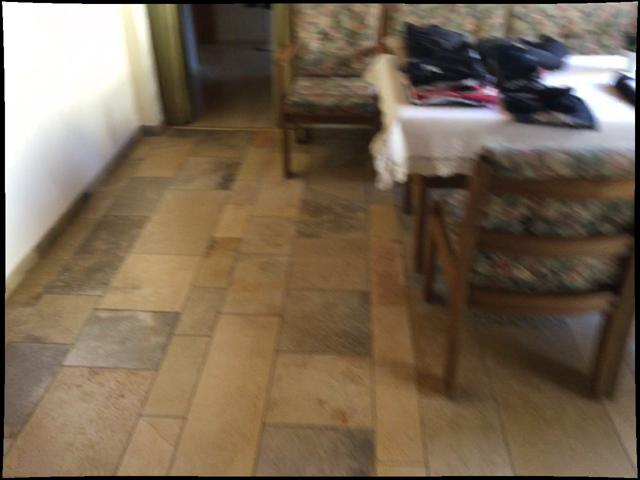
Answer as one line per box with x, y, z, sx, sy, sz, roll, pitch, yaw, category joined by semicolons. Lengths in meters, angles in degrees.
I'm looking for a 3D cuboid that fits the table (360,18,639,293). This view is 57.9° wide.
0.959;-0.410;2.520;1.528;0.821;0.970;2;33;3;table

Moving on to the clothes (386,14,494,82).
0.490;-0.831;2.470;0.390;0.160;0.440;2;33;3;clothes

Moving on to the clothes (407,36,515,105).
0.519;-0.651;2.200;0.340;0.160;0.320;2;33;3;clothes
